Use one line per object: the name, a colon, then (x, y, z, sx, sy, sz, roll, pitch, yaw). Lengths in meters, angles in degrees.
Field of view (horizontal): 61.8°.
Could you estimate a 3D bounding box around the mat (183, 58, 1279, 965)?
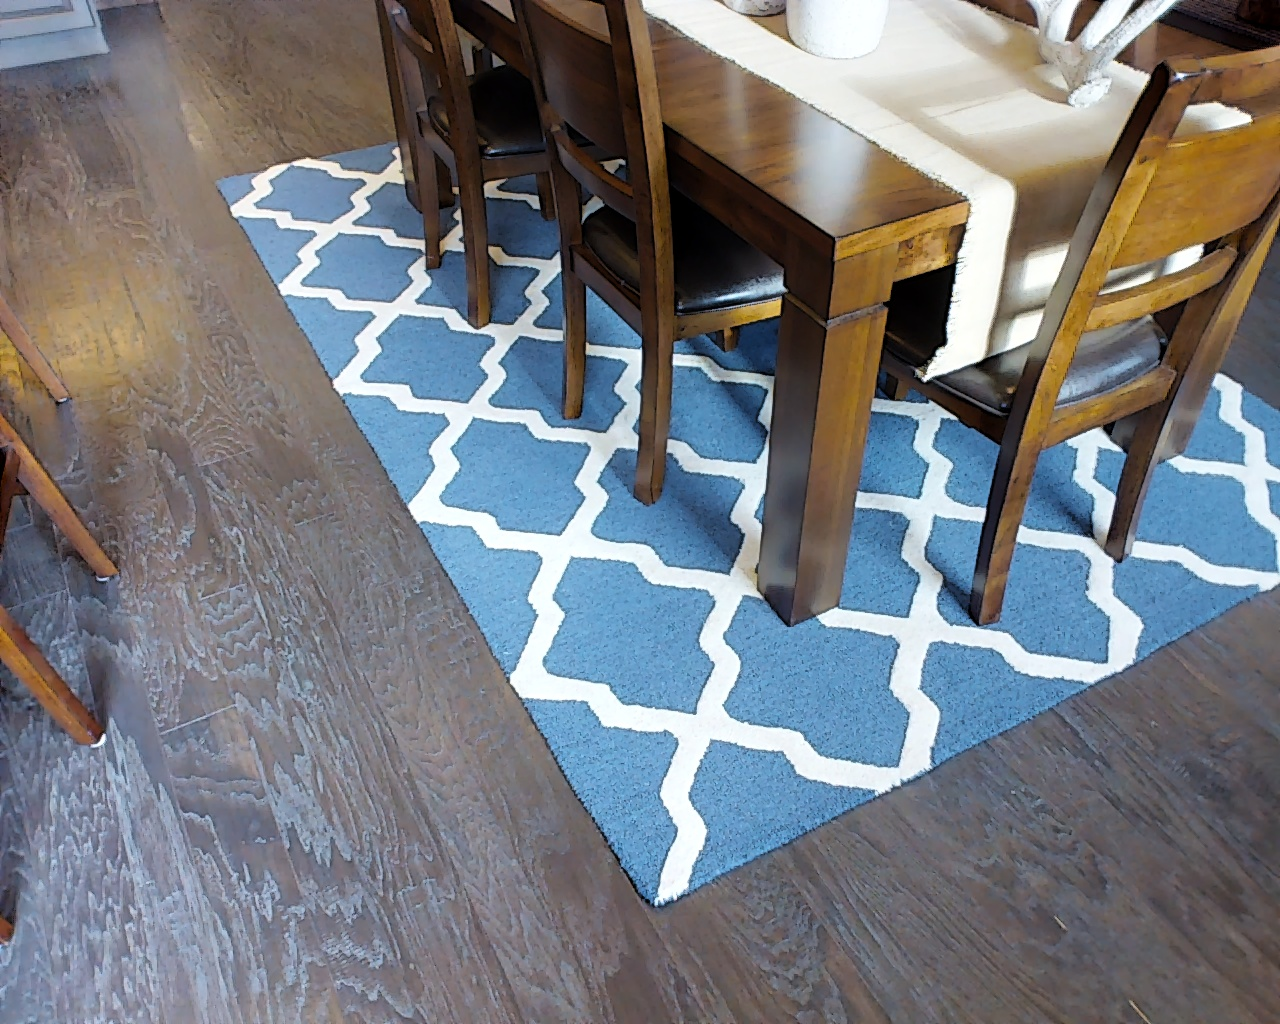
mat: (0.160, -0.530, 2.700, 1.940, 0.040, 2.790, -21, 46, -22)
